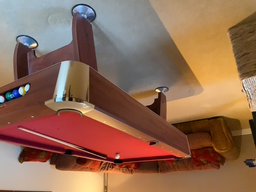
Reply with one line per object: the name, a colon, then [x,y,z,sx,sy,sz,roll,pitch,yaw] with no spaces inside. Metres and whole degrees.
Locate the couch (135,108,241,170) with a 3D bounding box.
couch: [1.090,0.880,3.880,1.520,0.720,1.180,-14,153,27]

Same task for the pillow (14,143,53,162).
pillow: [-1.590,0.970,3.600,0.300,0.240,0.490,-19,150,35]
